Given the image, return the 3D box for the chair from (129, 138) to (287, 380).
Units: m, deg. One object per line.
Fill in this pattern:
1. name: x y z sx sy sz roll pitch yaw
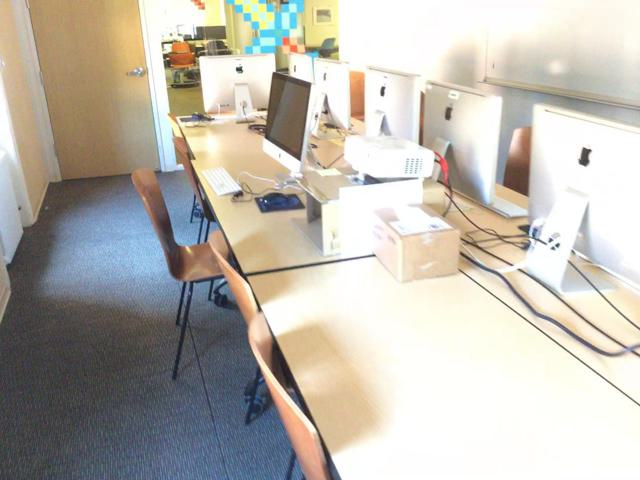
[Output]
1. chair: -0.490 0.050 2.500 0.500 0.810 0.580 -10 24 -15

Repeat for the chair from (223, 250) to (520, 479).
1. chair: 0.060 0.540 1.300 0.360 0.790 0.670 -10 24 -15

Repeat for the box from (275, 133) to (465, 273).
1. box: 0.150 -0.150 1.950 0.490 0.280 0.440 -10 24 -14

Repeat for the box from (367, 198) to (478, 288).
1. box: 0.290 0.000 1.690 0.220 0.140 0.260 -10 24 -14
